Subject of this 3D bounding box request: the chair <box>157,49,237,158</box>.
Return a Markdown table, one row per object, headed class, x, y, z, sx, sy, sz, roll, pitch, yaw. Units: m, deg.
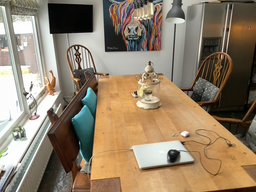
| class | x | y | z | sx | sy | sz | roll | pitch | yaw |
| --- | --- | --- | --- | --- | --- | --- | --- | --- | --- |
| chair | 0.770 | 0.050 | 2.570 | 0.610 | 1.130 | 0.560 | -7 | 21 | -18 |
